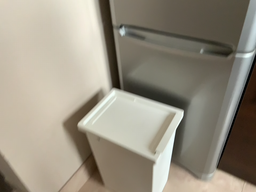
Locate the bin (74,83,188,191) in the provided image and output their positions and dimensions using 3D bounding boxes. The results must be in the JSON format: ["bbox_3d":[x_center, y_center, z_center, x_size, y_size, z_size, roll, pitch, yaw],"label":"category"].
[{"bbox_3d":[0.030,0.310,1.110,0.390,0.600,0.300,24,47,29],"label":"bin"}]
